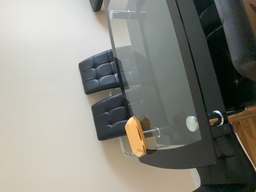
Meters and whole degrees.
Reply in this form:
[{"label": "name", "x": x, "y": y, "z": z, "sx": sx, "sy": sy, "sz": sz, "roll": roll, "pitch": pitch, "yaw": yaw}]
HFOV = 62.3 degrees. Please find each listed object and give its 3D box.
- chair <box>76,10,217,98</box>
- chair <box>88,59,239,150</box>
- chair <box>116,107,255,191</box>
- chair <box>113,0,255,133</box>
[{"label": "chair", "x": 0.110, "y": -0.330, "z": 1.780, "sx": 0.590, "sy": 0.950, "sz": 0.410, "roll": 135, "pitch": 124, "yaw": -62}, {"label": "chair", "x": 0.230, "y": 0.070, "z": 1.670, "sx": 0.590, "sy": 0.920, "sz": 0.440, "roll": 135, "pitch": 124, "yaw": -62}, {"label": "chair", "x": 0.490, "y": 0.450, "z": 1.200, "sx": 0.440, "sy": 0.920, "sz": 0.600, "roll": 133, "pitch": 126, "yaw": -61}, {"label": "chair", "x": 0.520, "y": -0.190, "z": 0.870, "sx": 0.590, "sy": 0.960, "sz": 0.440, "roll": 143, "pitch": 117, "yaw": -64}]
